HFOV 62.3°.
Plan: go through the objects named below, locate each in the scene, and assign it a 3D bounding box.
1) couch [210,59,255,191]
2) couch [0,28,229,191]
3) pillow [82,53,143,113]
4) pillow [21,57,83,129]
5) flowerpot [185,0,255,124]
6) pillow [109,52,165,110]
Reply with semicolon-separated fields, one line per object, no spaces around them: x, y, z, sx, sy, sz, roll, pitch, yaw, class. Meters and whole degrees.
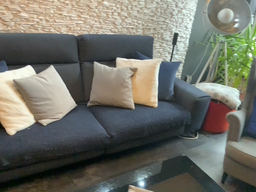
1.250;0.300;1.830;0.640;0.960;0.920;19;27;24;couch
-0.380;-0.020;2.010;2.370;0.990;1.030;-8;29;-30;couch
-0.160;-0.110;2.050;0.480;0.450;0.180;17;45;-6;pillow
-0.640;-0.020;1.800;0.150;0.450;0.500;39;56;-1;pillow
1.540;-0.510;3.160;0.740;1.610;0.690;-9;30;-32;flowerpot
0.090;-0.150;2.230;0.460;0.440;0.270;15;41;-5;pillow
